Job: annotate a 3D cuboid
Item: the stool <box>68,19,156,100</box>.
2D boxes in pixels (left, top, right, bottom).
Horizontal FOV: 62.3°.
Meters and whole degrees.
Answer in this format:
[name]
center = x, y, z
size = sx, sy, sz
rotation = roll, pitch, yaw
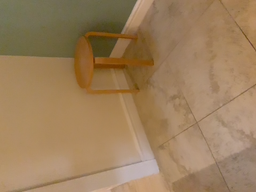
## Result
[stool]
center = -0.140, -0.250, 1.560
size = 0.390, 0.450, 0.390
rotation = -48, 53, 50
